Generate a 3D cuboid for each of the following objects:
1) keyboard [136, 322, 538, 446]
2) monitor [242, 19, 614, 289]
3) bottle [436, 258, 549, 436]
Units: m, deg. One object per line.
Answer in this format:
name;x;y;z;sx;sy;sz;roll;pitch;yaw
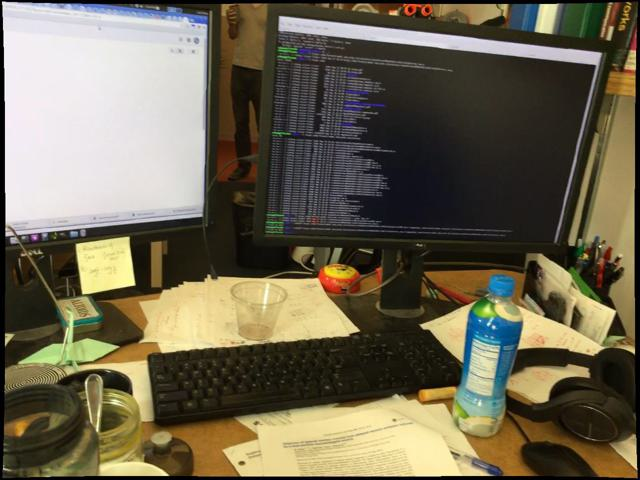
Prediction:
keyboard;0.020;0.200;0.830;0.509;0.050;0.210;3;20;-6
monitor;0.140;-0.130;0.910;0.500;0.360;0.150;3;19;-6
bottle;0.220;0.140;0.760;0.080;0.210;0.090;3;19;-6
